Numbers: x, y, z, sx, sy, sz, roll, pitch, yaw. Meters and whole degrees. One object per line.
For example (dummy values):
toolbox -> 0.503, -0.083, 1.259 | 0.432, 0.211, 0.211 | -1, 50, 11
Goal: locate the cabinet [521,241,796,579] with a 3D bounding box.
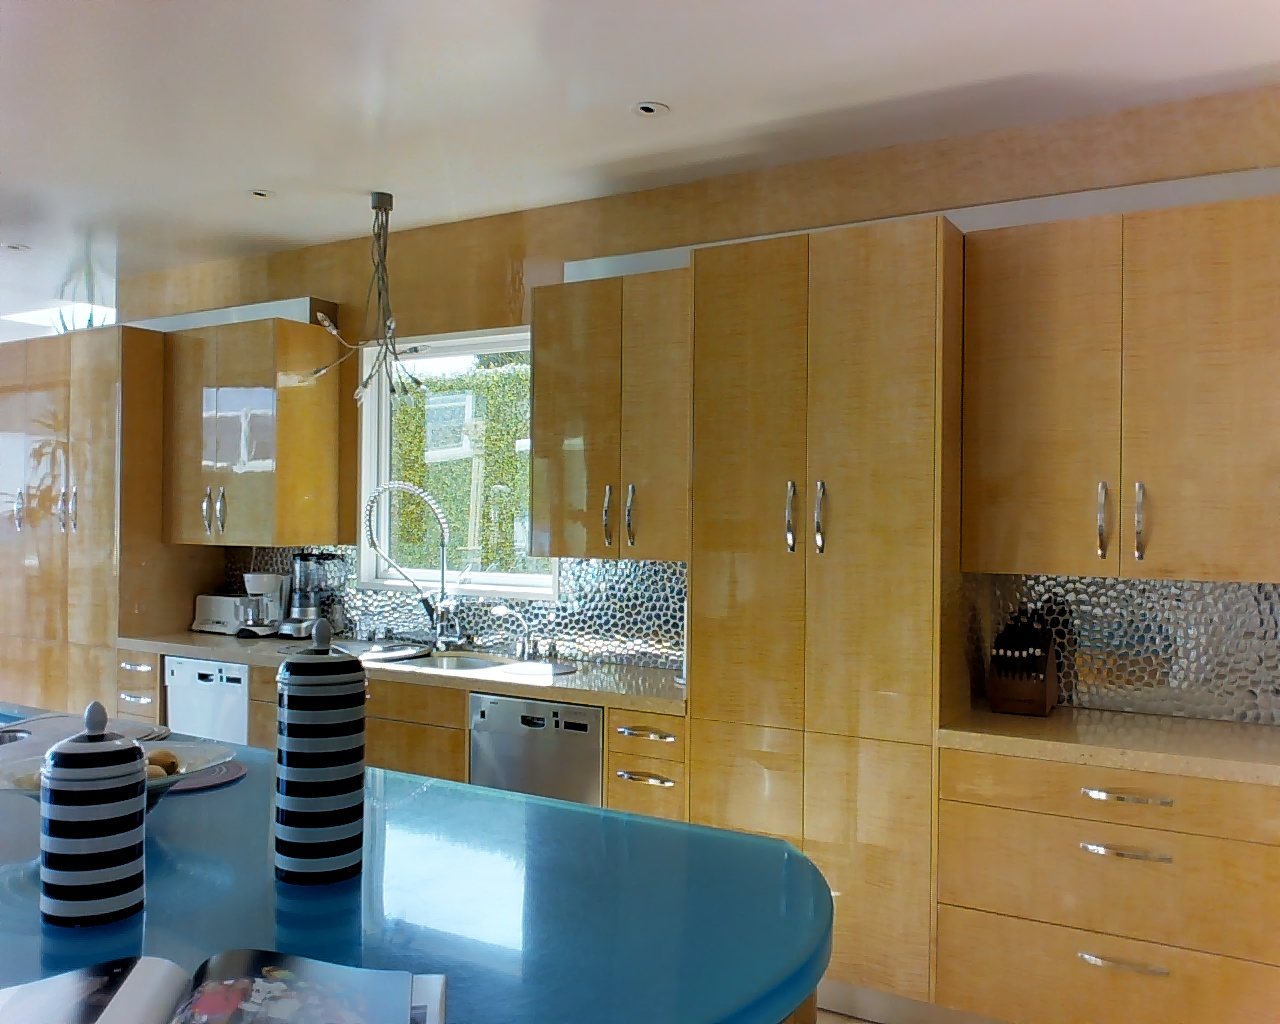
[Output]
cabinet -> 0.060, -0.350, 4.090 | 0.960, 1.151, 0.410 | 0, 0, 32

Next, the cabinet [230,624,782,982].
cabinet -> -0.630, 1.040, 4.400 | 2.309, 0.960, 0.700 | 0, 0, 32

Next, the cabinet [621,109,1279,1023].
cabinet -> 1.030, 0.260, 3.370 | 2.109, 2.501, 0.700 | 0, 0, 32

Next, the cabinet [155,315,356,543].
cabinet -> -1.909, -0.380, 5.330 | 0.910, 1.040, 0.460 | 0, 0, 32
